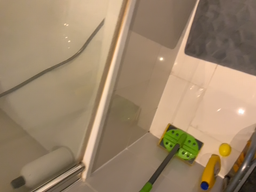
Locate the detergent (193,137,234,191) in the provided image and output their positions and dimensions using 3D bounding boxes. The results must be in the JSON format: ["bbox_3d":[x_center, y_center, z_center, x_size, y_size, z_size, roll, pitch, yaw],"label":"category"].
[{"bbox_3d":[0.390,0.300,0.960,0.090,0.200,0.140,26,115,26],"label":"detergent"}]
